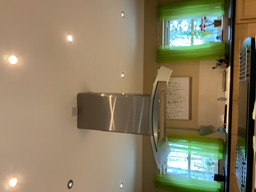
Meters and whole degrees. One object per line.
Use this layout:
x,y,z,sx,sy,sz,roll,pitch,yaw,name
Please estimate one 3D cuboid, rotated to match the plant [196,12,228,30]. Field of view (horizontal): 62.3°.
1.470,-1.320,3.730,0.230,0.490,0.200,-5,-83,-70,plant
